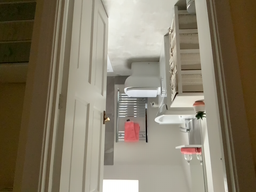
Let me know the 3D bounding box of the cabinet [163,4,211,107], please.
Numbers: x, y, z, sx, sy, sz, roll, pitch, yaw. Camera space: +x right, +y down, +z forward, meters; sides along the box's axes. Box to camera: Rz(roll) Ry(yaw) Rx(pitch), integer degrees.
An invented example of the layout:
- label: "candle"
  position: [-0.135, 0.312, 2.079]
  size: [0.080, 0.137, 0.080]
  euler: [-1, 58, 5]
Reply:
- label: "cabinet"
  position: [0.510, -0.350, 1.960]
  size: [0.280, 0.830, 0.430]
  euler: [-1, 165, 3]

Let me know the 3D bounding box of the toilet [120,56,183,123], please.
- label: "toilet"
  position: [0.310, -0.070, 3.020]
  size: [0.790, 0.840, 0.470]
  euler: [-1, 165, 3]
